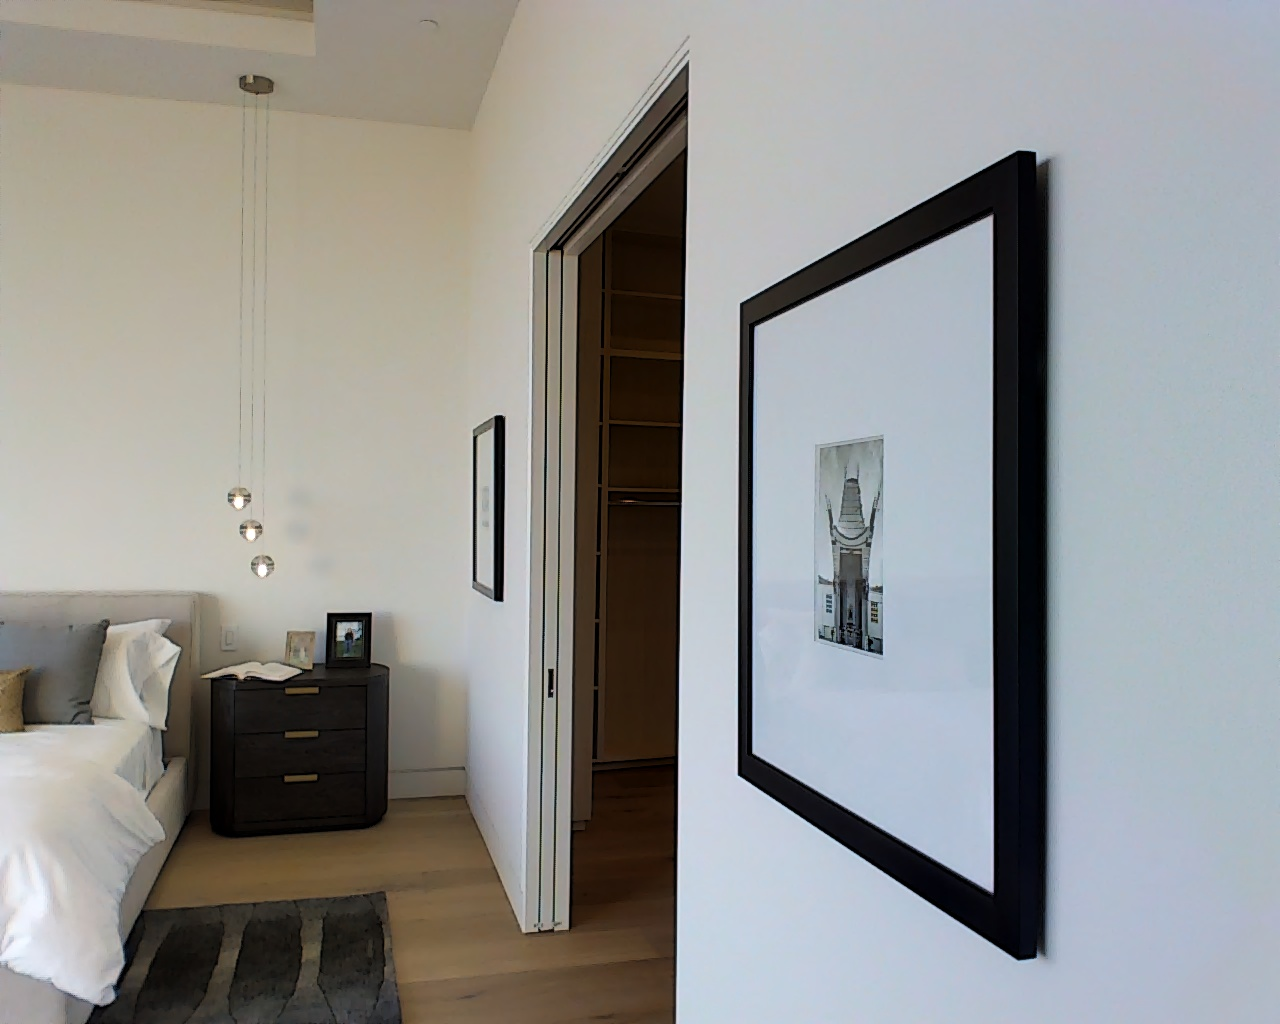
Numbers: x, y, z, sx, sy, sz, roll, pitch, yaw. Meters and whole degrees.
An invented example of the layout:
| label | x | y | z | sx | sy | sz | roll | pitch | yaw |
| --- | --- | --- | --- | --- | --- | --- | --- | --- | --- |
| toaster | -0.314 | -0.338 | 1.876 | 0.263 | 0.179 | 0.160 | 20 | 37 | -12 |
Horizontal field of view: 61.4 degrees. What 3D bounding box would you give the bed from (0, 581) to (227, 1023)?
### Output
| label | x | y | z | sx | sy | sz | roll | pitch | yaw |
| --- | --- | --- | --- | --- | --- | --- | --- | --- | --- |
| bed | -2.810 | 0.910 | 3.710 | 2.340 | 1.110 | 2.630 | 1 | 1 | -16 |
